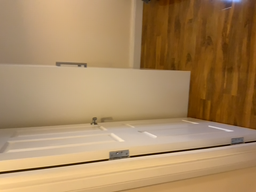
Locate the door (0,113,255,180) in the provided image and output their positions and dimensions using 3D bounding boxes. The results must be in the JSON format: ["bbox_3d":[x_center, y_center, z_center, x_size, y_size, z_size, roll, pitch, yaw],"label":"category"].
[{"bbox_3d":[-0.150,0.250,1.400,0.900,2.010,0.060,-172,82,-69],"label":"door"}]
